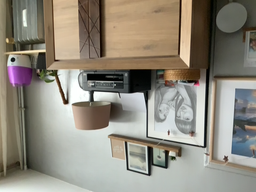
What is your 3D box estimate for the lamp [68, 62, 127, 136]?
[{"bbox_3d":[-0.220,0.000,1.550,0.340,0.480,0.240,5,-171,30],"label":"lamp"}]
